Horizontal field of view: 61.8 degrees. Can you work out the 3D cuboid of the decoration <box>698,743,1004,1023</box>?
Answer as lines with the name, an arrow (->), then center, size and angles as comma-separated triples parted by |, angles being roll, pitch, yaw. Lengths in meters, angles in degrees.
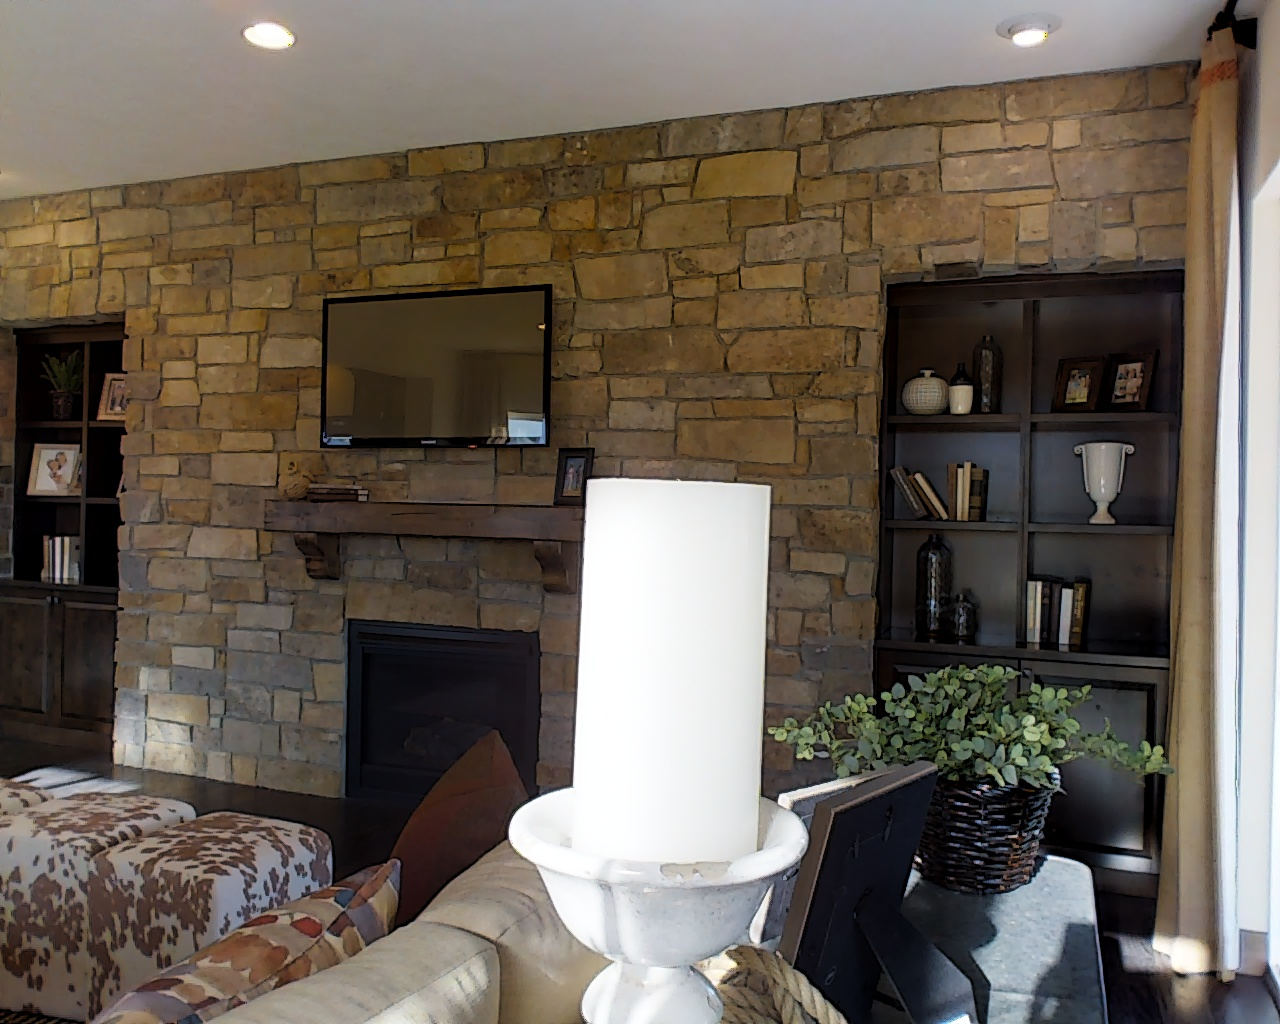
decoration -> 0.200, 0.380, 0.910 | 0.190, 0.270, 0.400 | 1, 0, 21

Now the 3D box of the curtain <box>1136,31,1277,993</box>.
curtain -> 1.830, 0.000, 3.500 | 0.280, 2.840, 0.620 | 1, 0, 21

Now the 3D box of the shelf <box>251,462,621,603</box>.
shelf -> -0.950, 0.070, 4.800 | 1.750, 0.570, 0.240 | 1, 0, 21
